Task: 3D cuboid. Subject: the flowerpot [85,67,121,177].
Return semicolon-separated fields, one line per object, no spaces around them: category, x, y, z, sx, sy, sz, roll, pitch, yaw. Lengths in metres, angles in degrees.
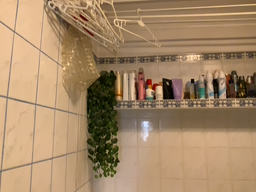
flowerpot;-0.150;0.160;1.380;0.160;0.650;0.220;-1;-10;11
